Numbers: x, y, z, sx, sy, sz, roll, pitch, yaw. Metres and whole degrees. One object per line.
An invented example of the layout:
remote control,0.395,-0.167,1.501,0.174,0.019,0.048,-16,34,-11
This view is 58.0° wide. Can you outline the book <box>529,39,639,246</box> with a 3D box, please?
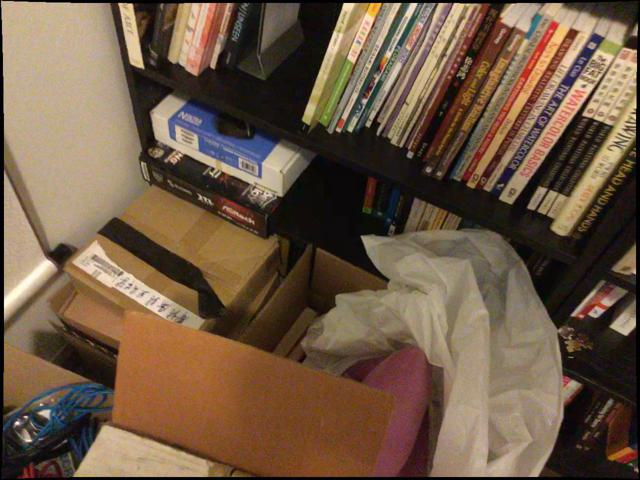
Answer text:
book,0.349,-0.110,0.710,0.060,0.300,0.050,27,55,13
